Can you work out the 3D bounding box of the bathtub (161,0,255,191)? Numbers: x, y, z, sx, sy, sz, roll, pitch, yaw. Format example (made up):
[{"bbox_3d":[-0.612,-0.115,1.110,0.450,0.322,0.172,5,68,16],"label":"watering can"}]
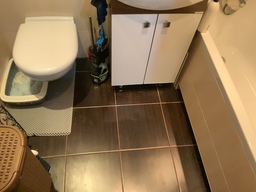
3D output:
[{"bbox_3d":[0.740,-0.070,1.380,0.680,0.570,1.450,-3,58,-7],"label":"bathtub"}]
